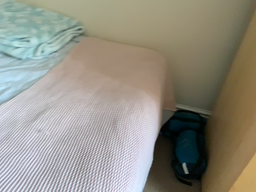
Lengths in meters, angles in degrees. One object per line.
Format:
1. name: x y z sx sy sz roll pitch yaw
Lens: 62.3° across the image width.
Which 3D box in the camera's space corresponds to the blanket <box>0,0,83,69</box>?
1. blanket: -0.650 -0.400 1.240 0.600 0.150 0.480 14 37 9
